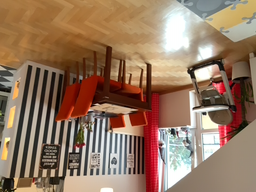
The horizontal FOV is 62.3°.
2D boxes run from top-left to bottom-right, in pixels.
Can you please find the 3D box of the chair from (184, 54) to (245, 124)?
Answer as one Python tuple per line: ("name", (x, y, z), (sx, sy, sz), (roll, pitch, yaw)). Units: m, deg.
("chair", (1.380, -0.060, 3.440), (0.600, 0.920, 0.630), (13, 161, -35))
